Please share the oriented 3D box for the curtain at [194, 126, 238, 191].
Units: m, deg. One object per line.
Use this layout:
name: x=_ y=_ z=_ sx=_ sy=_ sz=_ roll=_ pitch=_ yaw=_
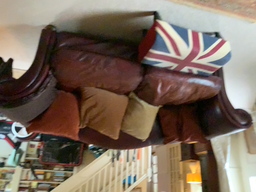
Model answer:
curtain: x=1.790 y=1.680 z=4.270 sx=0.560 sy=2.040 sz=0.460 roll=10 pitch=156 yaw=-18
